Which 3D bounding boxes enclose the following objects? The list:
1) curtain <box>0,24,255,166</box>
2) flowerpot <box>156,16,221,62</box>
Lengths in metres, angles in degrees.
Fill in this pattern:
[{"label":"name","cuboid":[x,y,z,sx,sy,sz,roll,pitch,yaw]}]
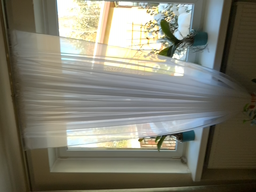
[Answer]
[{"label":"curtain","cuboid":[0.000,0.000,1.970,0.480,2.050,1.170,-102,14,-73]},{"label":"flowerpot","cuboid":[0.530,-0.520,1.940,0.270,0.470,0.360,-101,13,-72]}]
